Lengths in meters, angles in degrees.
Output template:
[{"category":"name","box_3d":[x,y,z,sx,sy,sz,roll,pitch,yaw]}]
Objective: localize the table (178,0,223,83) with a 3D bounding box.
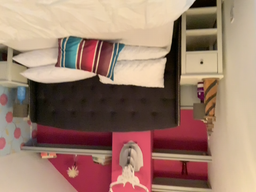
[{"category":"table","box_3d":[0.680,-0.550,2.080,0.340,0.780,0.530,0,177,10]}]
